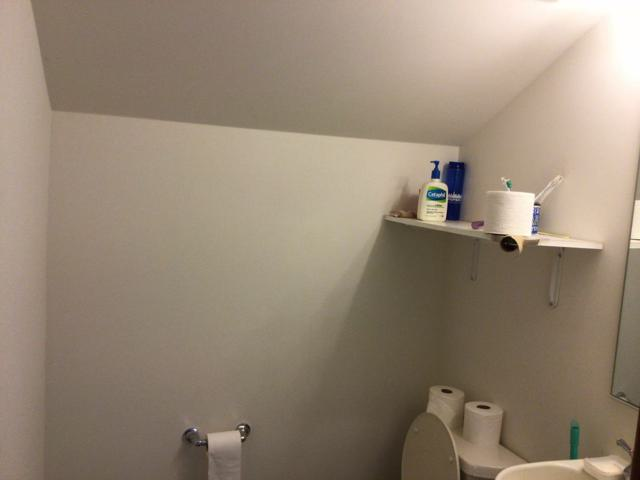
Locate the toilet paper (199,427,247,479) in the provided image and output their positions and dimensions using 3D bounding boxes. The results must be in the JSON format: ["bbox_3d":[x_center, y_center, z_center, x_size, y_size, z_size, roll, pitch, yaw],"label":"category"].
[{"bbox_3d":[-0.340,0.790,2.000,0.140,0.250,0.090,3,3,-20],"label":"toilet paper"}]

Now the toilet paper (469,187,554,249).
[{"bbox_3d":[0.510,-0.060,1.550,0.140,0.150,0.150,3,3,-20],"label":"toilet paper"}]
